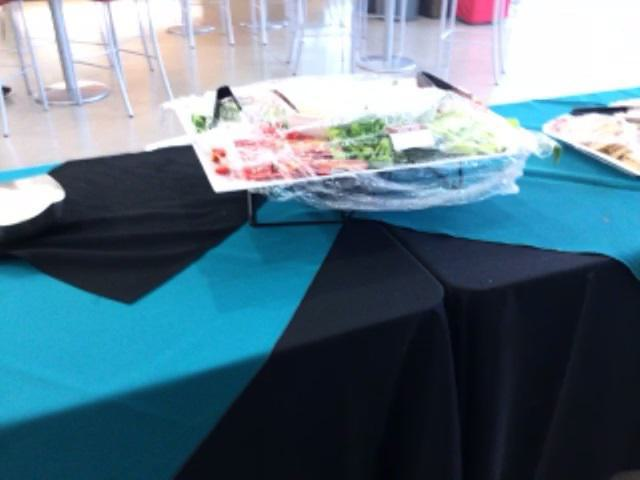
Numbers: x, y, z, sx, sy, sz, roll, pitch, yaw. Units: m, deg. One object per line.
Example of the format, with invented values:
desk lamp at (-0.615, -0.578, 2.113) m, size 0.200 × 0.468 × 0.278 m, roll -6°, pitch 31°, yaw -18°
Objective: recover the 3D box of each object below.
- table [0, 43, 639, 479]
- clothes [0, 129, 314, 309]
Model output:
table at (0.020, 0.230, 1.250) m, size 4.630 × 0.910 × 0.890 m, roll -12°, pitch 29°, yaw -18°
clothes at (-0.370, -0.090, 1.090) m, size 0.530 × 0.040 × 0.580 m, roll 6°, pitch 31°, yaw 23°
